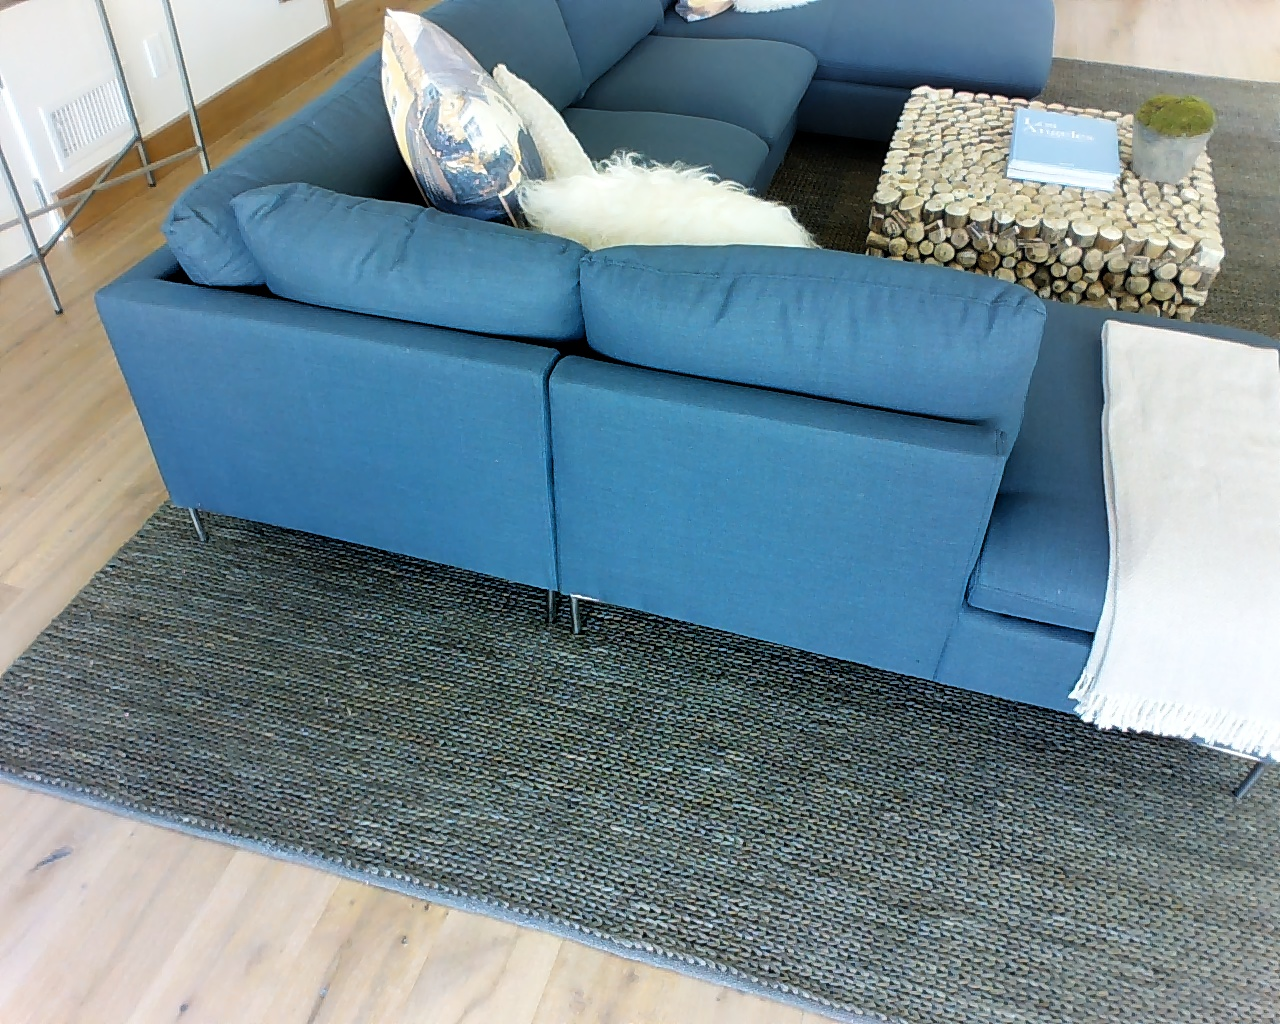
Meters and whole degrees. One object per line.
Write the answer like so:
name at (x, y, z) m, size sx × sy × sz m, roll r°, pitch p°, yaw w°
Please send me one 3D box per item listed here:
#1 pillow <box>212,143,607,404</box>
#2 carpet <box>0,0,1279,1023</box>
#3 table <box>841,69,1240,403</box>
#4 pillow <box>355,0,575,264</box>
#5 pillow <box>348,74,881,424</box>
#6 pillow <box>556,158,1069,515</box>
pillow at (-0.380, -0.420, 1.860) m, size 0.600 × 0.270 × 0.230 m, roll 13°, pitch 43°, yaw 14°
carpet at (0.850, -0.690, 3.110) m, size 3.160 × 0.060 × 4.480 m, roll 12°, pitch 43°, yaw 12°
table at (1.060, -0.790, 2.920) m, size 0.830 × 0.420 × 0.880 m, roll 12°, pitch 43°, yaw 12°
pillow at (-0.340, -0.750, 2.060) m, size 0.270 × 0.290 × 0.520 m, roll -14°, pitch 44°, yaw -16°
pillow at (-0.030, -0.510, 2.000) m, size 0.840 × 0.360 × 0.430 m, roll 12°, pitch 43°, yaw 12°
pillow at (0.270, -0.300, 1.770) m, size 0.740 × 0.360 × 0.300 m, roll 12°, pitch 43°, yaw 12°
